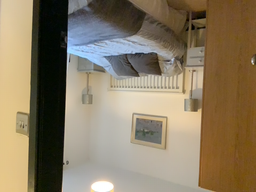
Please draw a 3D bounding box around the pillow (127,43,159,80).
[{"bbox_3d":[0.200,-0.500,3.090,0.410,0.400,0.150,28,-125,17],"label":"pillow"}]
